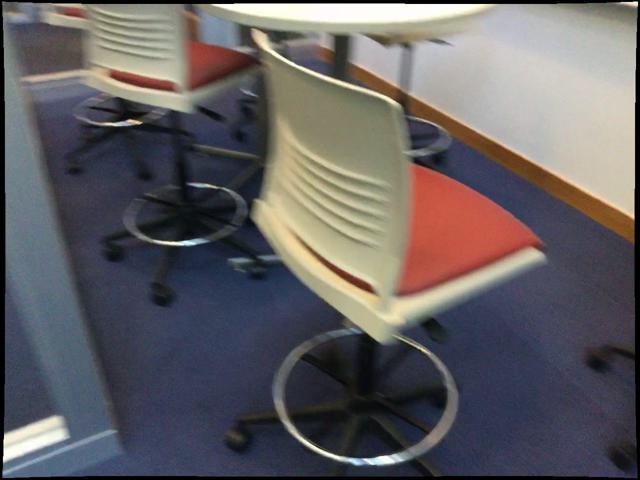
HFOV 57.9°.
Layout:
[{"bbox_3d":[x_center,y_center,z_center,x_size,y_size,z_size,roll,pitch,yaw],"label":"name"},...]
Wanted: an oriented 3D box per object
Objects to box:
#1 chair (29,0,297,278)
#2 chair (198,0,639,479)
[{"bbox_3d":[-0.509,-0.531,2.140,0.600,1.061,0.610,17,39,22],"label":"chair"},{"bbox_3d":[0.140,0.090,1.330,0.550,1.111,0.580,-17,39,-22],"label":"chair"}]
